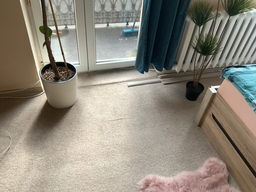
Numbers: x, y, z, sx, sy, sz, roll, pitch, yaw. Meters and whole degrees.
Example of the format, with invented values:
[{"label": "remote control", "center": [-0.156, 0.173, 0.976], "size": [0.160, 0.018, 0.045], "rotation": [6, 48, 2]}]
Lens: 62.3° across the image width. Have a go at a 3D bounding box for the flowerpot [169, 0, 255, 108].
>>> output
[{"label": "flowerpot", "center": [0.720, -0.440, 1.760], "size": [0.420, 1.110, 0.350], "rotation": [-7, 44, -15]}]
